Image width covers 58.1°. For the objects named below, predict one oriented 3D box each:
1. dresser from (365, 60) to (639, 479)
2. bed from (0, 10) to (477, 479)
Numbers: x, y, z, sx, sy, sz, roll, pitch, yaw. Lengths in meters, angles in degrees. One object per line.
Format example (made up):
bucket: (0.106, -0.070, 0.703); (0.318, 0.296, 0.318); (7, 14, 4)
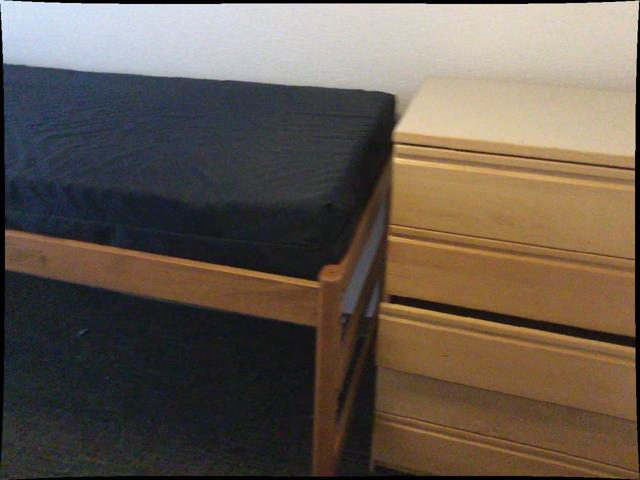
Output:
dresser: (0.689, 0.160, 1.750); (0.879, 1.121, 0.820); (10, 33, 14)
bed: (-0.899, 0.030, 1.970); (2.586, 1.261, 1.150); (8, 35, 12)
